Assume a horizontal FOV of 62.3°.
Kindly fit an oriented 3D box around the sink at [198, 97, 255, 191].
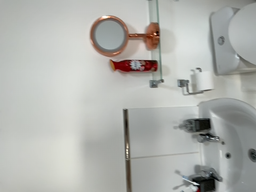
[{"bbox_3d":[0.550,0.310,1.000,0.390,0.190,0.580,158,110,-74],"label":"sink"}]
